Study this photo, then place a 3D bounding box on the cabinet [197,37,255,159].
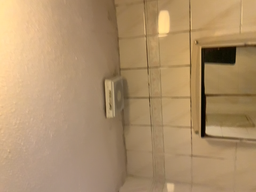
[{"bbox_3d":[0.490,0.010,0.880,0.090,0.380,0.490,-34,-58,-67],"label":"cabinet"}]
